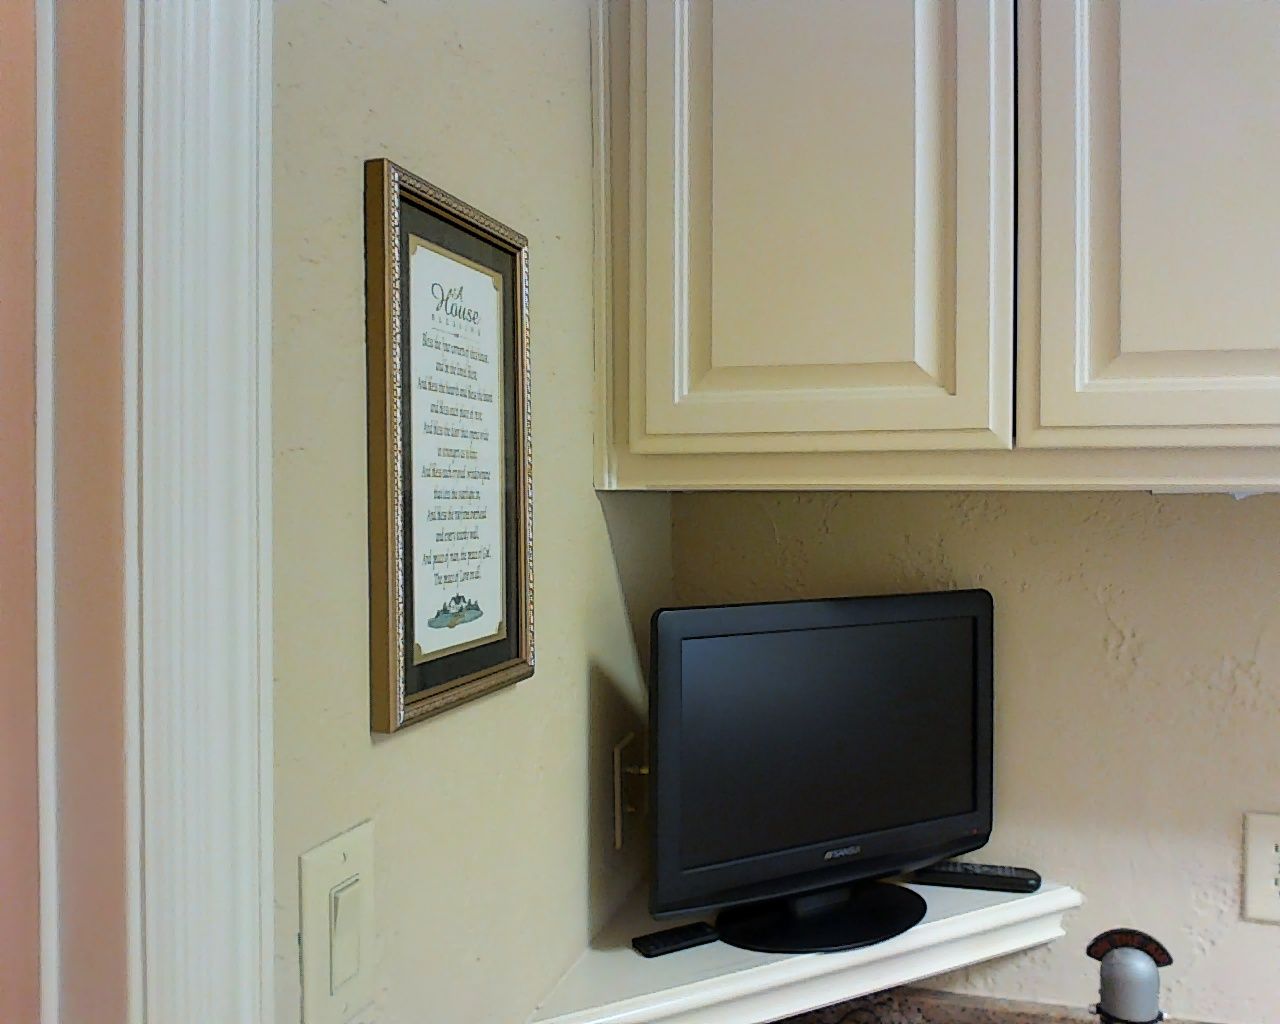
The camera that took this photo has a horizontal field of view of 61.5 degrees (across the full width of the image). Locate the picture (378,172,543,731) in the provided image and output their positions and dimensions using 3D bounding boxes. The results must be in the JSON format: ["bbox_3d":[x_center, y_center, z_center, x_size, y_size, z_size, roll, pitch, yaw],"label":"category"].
[{"bbox_3d":[-0.130,-0.040,0.830,0.020,0.370,0.240,0,0,17],"label":"picture"}]
